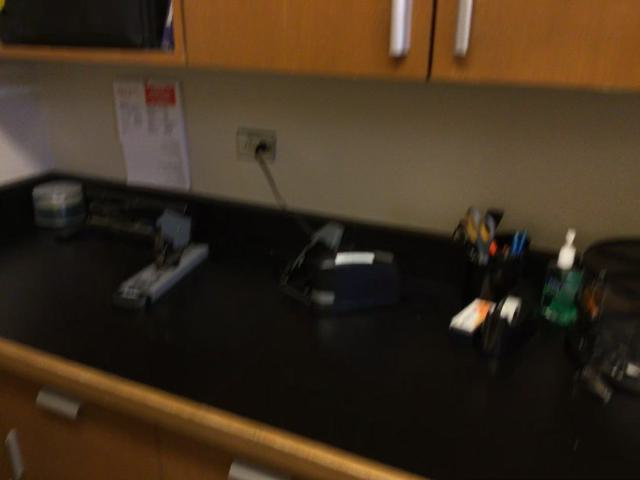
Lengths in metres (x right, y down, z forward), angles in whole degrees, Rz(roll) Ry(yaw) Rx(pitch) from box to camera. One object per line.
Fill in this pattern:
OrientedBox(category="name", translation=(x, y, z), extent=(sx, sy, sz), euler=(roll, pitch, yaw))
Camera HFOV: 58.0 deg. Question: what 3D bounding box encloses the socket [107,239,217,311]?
OrientedBox(category="socket", translation=(-0.340, 0.070, 1.290), extent=(0.090, 0.050, 0.300), euler=(6, 18, 16))
